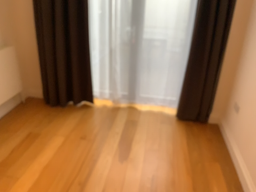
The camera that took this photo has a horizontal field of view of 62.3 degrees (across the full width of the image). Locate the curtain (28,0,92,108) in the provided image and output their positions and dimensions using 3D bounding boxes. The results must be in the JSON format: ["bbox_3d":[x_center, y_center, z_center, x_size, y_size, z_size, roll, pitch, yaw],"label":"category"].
[{"bbox_3d":[-0.860,-1.030,2.700,0.660,2.460,0.280,6,26,7],"label":"curtain"}]

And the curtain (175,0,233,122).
[{"bbox_3d":[0.900,-0.800,2.400,0.390,2.430,0.140,6,26,7],"label":"curtain"}]
